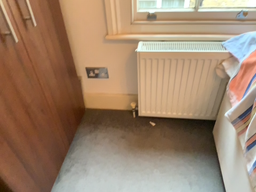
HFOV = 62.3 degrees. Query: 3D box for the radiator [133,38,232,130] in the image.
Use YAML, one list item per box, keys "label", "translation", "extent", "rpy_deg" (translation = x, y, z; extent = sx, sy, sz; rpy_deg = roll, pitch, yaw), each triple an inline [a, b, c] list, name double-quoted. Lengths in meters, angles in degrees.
- label: "radiator"
  translation: [0.280, -0.050, 1.270]
  extent: [0.470, 0.570, 0.120]
  rpy_deg: [4, 42, 8]
